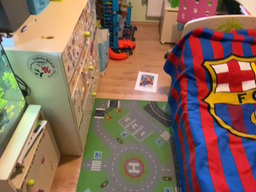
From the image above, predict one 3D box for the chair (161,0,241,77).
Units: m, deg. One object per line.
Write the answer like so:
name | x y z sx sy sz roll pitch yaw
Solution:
chair | 0.750 -0.730 2.240 0.500 0.770 0.520 30 51 25
